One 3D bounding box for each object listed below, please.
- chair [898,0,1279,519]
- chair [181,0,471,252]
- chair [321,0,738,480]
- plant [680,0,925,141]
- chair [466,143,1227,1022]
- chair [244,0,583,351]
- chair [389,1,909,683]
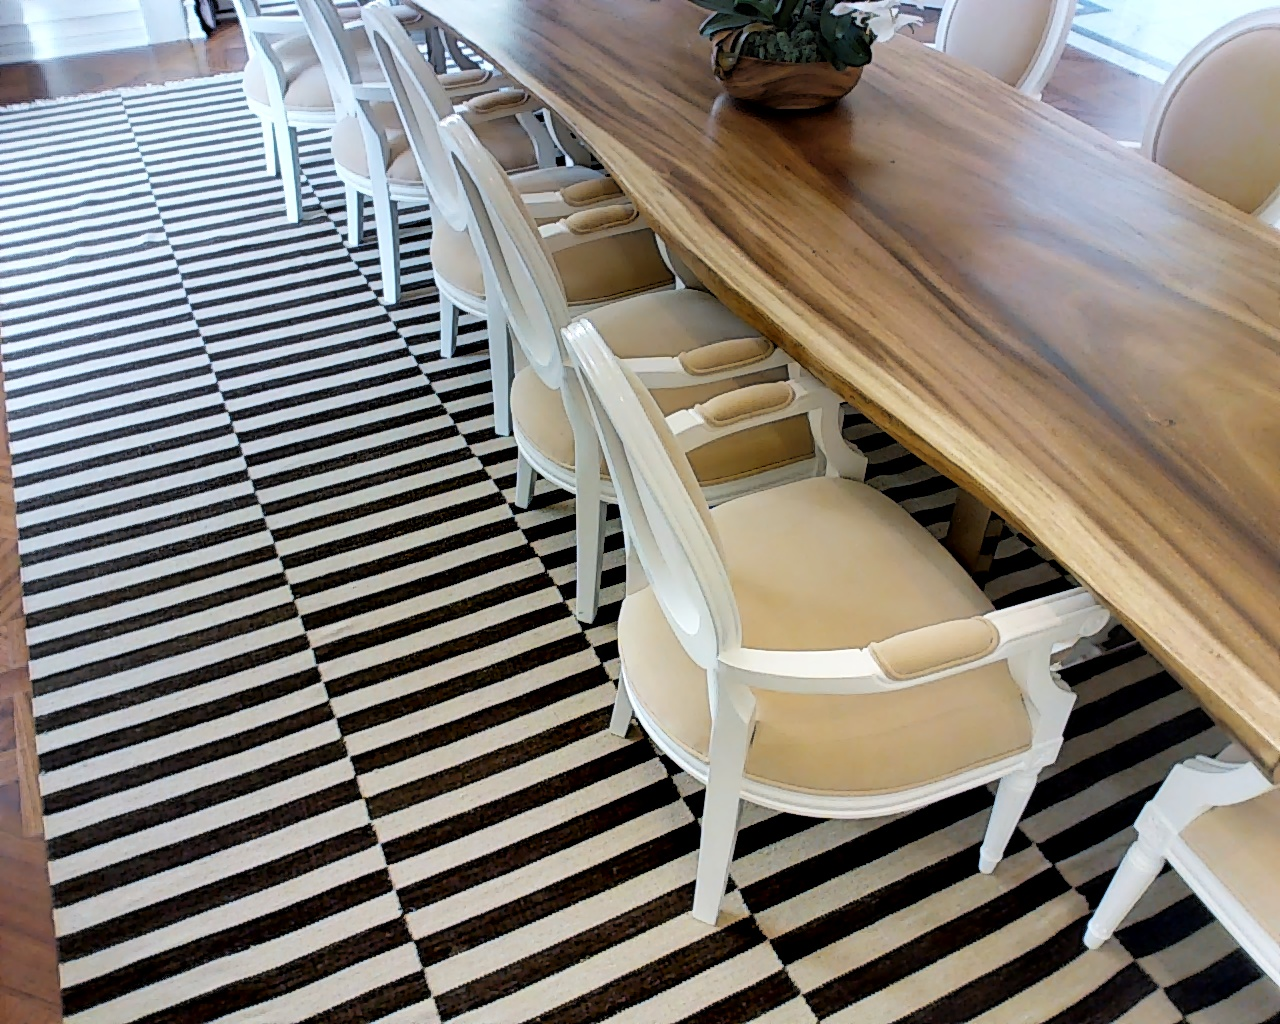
[{"bbox_3d":[1.120,-0.630,2.500,0.650,1.040,0.550,-17,45,-20],"label":"chair"},{"bbox_3d":[-1.060,-1.540,3.550,0.700,1.000,0.710,-19,45,-21],"label":"chair"},{"bbox_3d":[-0.270,-0.760,2.670,0.680,0.990,0.690,-21,46,-23],"label":"chair"},{"bbox_3d":[0.360,-1.080,2.440,0.370,0.270,0.380,-27,48,-28],"label":"plant"},{"bbox_3d":[0.200,0.110,1.660,0.670,1.030,0.680,-15,44,-18],"label":"chair"},{"bbox_3d":[-0.650,-1.170,3.120,0.680,1.030,0.730,-21,46,-23],"label":"chair"},{"bbox_3d":[-0.020,-0.340,2.170,0.650,1.050,0.670,-17,45,-20],"label":"chair"}]
